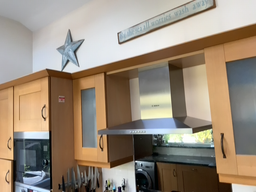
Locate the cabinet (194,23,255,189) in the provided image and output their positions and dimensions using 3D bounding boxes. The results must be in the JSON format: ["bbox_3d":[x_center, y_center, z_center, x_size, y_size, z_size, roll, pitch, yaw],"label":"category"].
[{"bbox_3d":[0.680,0.060,1.250,0.390,0.820,0.380,-7,-8,35],"label":"cabinet"}]
